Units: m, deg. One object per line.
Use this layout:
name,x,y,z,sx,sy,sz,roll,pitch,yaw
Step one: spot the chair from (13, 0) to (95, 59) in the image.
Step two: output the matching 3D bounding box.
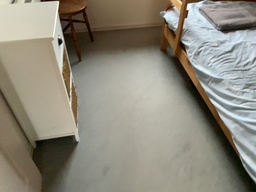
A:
chair,-0.670,-0.870,2.000,0.510,0.820,0.510,9,46,7
